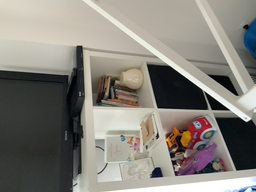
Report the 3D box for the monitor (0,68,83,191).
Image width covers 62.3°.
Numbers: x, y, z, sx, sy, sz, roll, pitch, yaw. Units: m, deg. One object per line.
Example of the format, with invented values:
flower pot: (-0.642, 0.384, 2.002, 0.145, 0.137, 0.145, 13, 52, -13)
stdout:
monitor: (-0.540, 0.200, 1.130, 0.040, 0.530, 0.830, 122, 143, -54)
